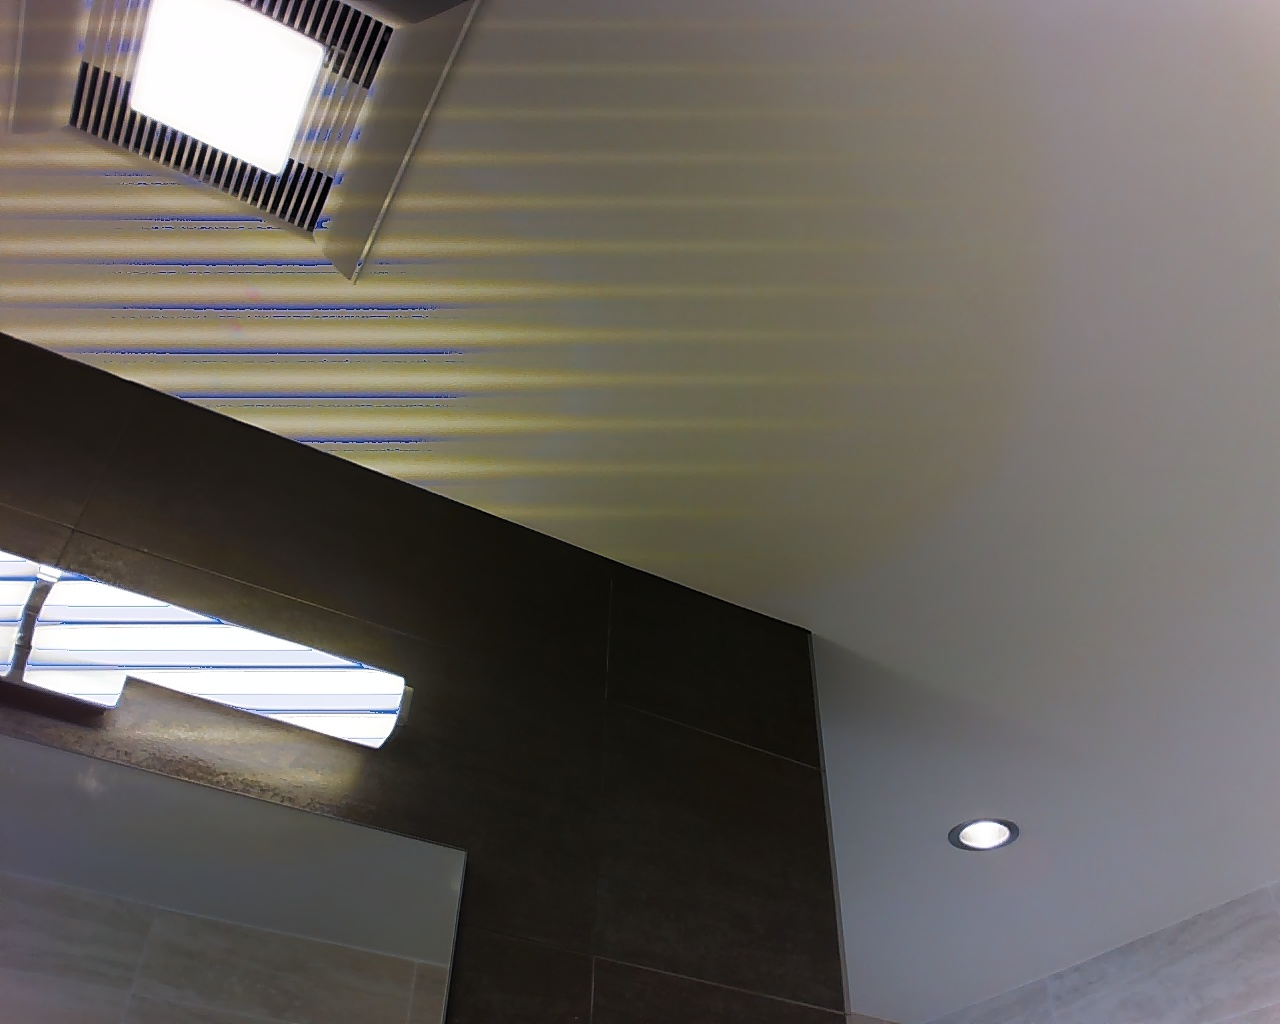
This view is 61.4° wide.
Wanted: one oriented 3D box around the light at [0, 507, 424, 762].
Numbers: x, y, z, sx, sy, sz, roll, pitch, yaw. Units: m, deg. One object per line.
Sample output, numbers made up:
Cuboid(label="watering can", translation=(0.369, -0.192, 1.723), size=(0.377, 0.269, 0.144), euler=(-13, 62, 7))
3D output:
Cuboid(label="light", translation=(-0.530, 0.080, 0.980), size=(0.660, 0.100, 0.080), euler=(21, -45, -20))
